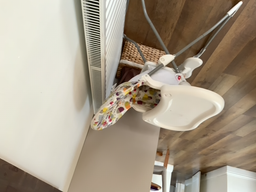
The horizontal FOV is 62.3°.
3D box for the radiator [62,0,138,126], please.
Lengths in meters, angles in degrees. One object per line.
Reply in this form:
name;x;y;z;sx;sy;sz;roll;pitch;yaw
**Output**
radiator;-0.090;-0.440;1.260;0.190;0.830;1.310;14;152;-1
